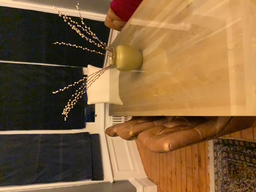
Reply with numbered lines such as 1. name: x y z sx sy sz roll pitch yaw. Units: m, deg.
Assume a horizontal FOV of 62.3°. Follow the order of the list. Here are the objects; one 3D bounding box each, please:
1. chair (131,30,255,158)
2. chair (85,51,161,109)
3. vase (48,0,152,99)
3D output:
1. chair: 0.550 0.030 1.450 0.600 0.910 0.620 161 110 -70
2. chair: -0.120 -0.200 3.290 0.680 0.990 0.630 139 130 -65
3. vase: -0.270 -0.380 1.820 0.670 0.730 0.750 168 104 -71
